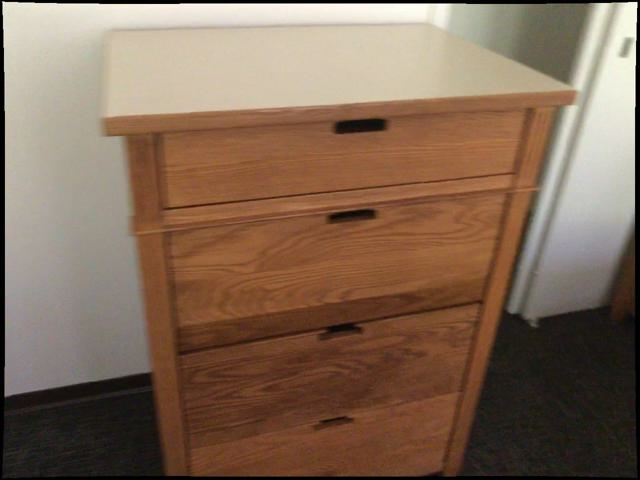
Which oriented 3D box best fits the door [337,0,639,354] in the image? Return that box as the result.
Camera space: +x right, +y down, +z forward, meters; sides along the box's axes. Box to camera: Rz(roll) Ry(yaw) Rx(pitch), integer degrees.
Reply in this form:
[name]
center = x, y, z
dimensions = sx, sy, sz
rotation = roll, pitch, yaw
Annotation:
[door]
center = 0.758, -0.431, 1.780
dimensions = 1.327, 1.663, 0.190
rotation = -7, 34, -15
